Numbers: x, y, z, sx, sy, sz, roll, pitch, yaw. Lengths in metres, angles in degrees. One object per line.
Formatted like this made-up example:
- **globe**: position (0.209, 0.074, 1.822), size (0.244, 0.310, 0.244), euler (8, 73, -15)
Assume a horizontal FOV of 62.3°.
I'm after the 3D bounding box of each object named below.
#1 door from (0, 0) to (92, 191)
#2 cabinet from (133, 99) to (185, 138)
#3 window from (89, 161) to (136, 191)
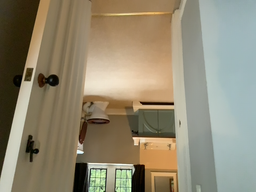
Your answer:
- **door**: position (-0.370, 0.090, 1.150), size (0.050, 2.020, 0.750), euler (0, 160, 2)
- **cabinet**: position (0.580, 0.450, 4.140), size (0.930, 0.660, 0.520), euler (-1, 160, 5)
- **window**: position (-0.310, 1.890, 4.310), size (0.950, 1.070, 0.110), euler (1, 161, 1)
